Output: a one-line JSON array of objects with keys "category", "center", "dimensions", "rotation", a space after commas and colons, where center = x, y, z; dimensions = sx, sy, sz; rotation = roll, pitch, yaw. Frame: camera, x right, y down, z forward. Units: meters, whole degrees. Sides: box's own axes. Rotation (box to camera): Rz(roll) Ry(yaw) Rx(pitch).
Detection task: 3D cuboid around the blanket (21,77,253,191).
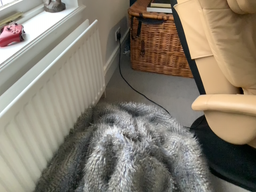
[{"category": "blanket", "center": [0.070, 0.380, 0.960], "dimensions": [0.760, 0.400, 0.920], "rotation": [9, 41, 11]}]
